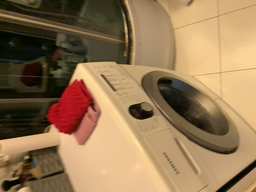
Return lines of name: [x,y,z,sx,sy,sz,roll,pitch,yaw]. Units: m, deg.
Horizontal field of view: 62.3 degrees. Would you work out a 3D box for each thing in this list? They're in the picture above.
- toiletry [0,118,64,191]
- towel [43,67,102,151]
toiletry: [-0.430,0.250,0.880,0.150,0.200,0.270,52,124,31]
towel: [-0.220,0.050,0.790,0.170,0.070,0.260,53,125,30]
